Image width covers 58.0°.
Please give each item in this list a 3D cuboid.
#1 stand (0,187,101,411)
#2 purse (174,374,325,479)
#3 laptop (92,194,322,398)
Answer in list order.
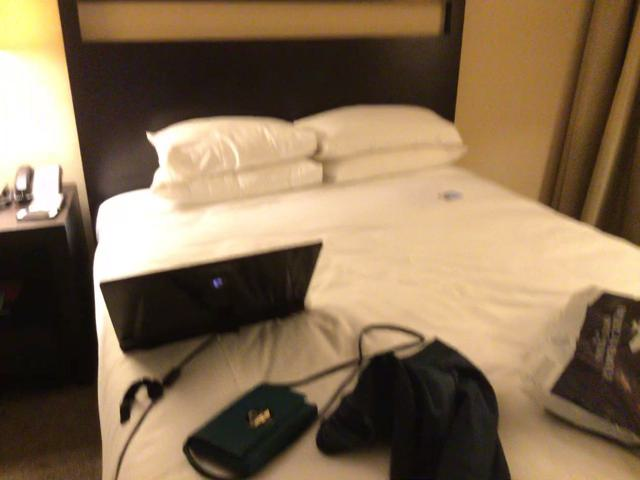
[{"bbox_3d":[-1.270,0.210,2.130,0.770,0.640,0.570,-6,20,-16],"label":"stand"},{"bbox_3d":[-0.110,0.310,0.960,0.130,0.040,0.220,14,24,36],"label":"purse"},{"bbox_3d":[-0.260,0.090,1.310,0.420,0.260,0.430,-6,20,-16],"label":"laptop"}]
